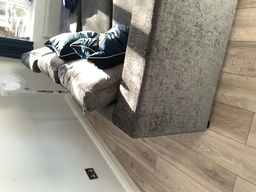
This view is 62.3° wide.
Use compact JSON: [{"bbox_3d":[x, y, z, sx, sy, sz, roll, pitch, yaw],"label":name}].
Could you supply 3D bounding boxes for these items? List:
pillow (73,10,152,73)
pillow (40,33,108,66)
[{"bbox_3d":[-0.130,-0.370,1.500,0.470,0.330,0.320,21,105,54],"label":"pillow"},{"bbox_3d":[-0.490,-0.430,1.890,0.490,0.430,0.220,21,119,53],"label":"pillow"}]
